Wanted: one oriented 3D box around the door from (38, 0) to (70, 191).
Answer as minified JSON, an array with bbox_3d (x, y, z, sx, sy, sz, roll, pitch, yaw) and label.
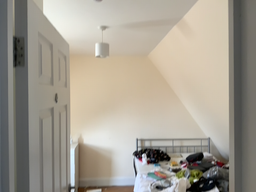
[{"bbox_3d":[-0.370,0.630,1.150,0.020,2.030,0.740,0,1,-9],"label":"door"}]
